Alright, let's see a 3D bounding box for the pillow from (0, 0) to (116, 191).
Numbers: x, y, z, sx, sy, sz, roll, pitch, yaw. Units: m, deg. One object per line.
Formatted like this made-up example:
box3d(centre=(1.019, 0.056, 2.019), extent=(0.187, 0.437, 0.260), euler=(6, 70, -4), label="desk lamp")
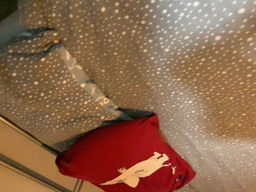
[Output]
box3d(centre=(-0.210, 0.040, 0.730), extent=(0.180, 0.470, 0.510), euler=(-19, 82, -6), label="pillow")
